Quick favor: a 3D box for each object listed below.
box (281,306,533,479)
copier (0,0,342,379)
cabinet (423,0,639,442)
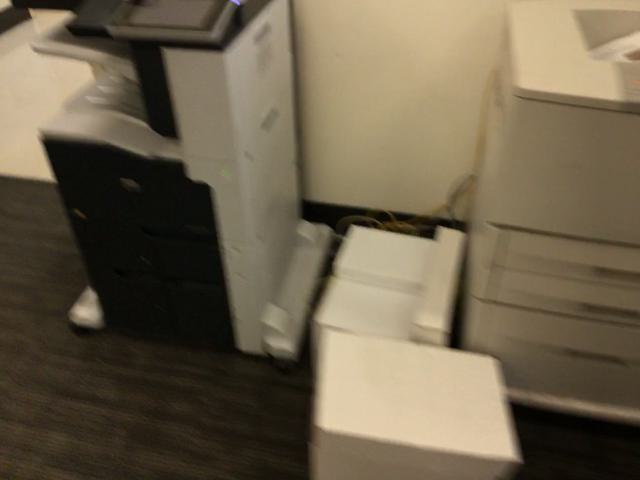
[{"bbox_3d":[0.200,0.430,1.470,0.530,0.280,0.410,3,39,4],"label":"box"},{"bbox_3d":[-0.390,-0.290,1.690,0.800,1.150,0.690,7,40,9],"label":"copier"},{"bbox_3d":[0.780,-0.070,1.530,0.830,0.930,0.710,9,40,12],"label":"cabinet"}]
